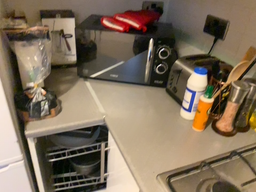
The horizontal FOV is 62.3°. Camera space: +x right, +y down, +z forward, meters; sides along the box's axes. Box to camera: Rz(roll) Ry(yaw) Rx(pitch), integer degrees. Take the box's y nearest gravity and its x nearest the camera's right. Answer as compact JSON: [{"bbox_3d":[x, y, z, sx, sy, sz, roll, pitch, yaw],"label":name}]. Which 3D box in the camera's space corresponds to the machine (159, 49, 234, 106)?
[{"bbox_3d":[0.300,-0.090,0.960,0.240,0.180,0.160,-9,35,-21],"label":"machine"}]
